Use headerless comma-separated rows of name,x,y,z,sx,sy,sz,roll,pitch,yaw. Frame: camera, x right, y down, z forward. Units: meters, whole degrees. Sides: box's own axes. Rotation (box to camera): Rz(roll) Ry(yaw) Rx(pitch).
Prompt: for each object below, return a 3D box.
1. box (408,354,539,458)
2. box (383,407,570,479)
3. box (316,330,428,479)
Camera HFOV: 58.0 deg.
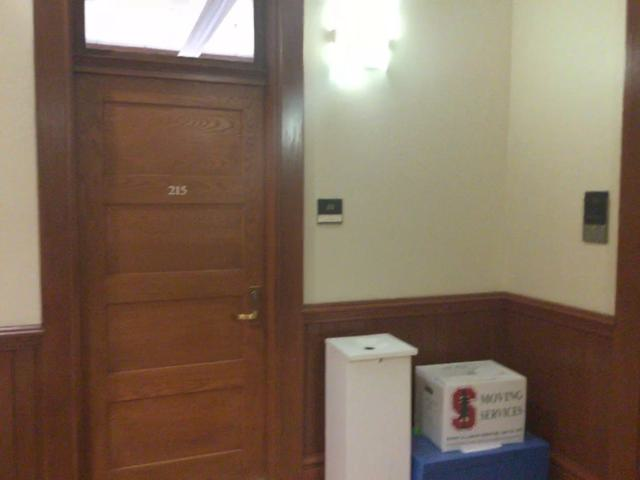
box,0.740,0.790,2.830,0.480,0.340,0.390,-1,2,-19
box,0.740,1.090,2.790,0.750,0.350,0.440,-1,2,-19
box,0.230,0.880,2.700,0.390,0.820,0.400,-1,2,-19
